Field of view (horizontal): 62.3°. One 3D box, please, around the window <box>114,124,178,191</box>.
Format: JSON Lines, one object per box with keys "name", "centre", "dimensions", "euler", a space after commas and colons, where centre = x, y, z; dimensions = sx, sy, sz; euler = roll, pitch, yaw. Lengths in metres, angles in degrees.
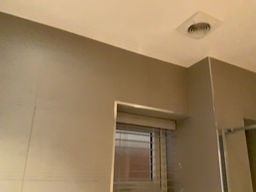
{"name": "window", "centre": [0.120, 0.640, 1.290], "dimensions": [0.440, 0.890, 0.030], "euler": [11, -20, -24]}
